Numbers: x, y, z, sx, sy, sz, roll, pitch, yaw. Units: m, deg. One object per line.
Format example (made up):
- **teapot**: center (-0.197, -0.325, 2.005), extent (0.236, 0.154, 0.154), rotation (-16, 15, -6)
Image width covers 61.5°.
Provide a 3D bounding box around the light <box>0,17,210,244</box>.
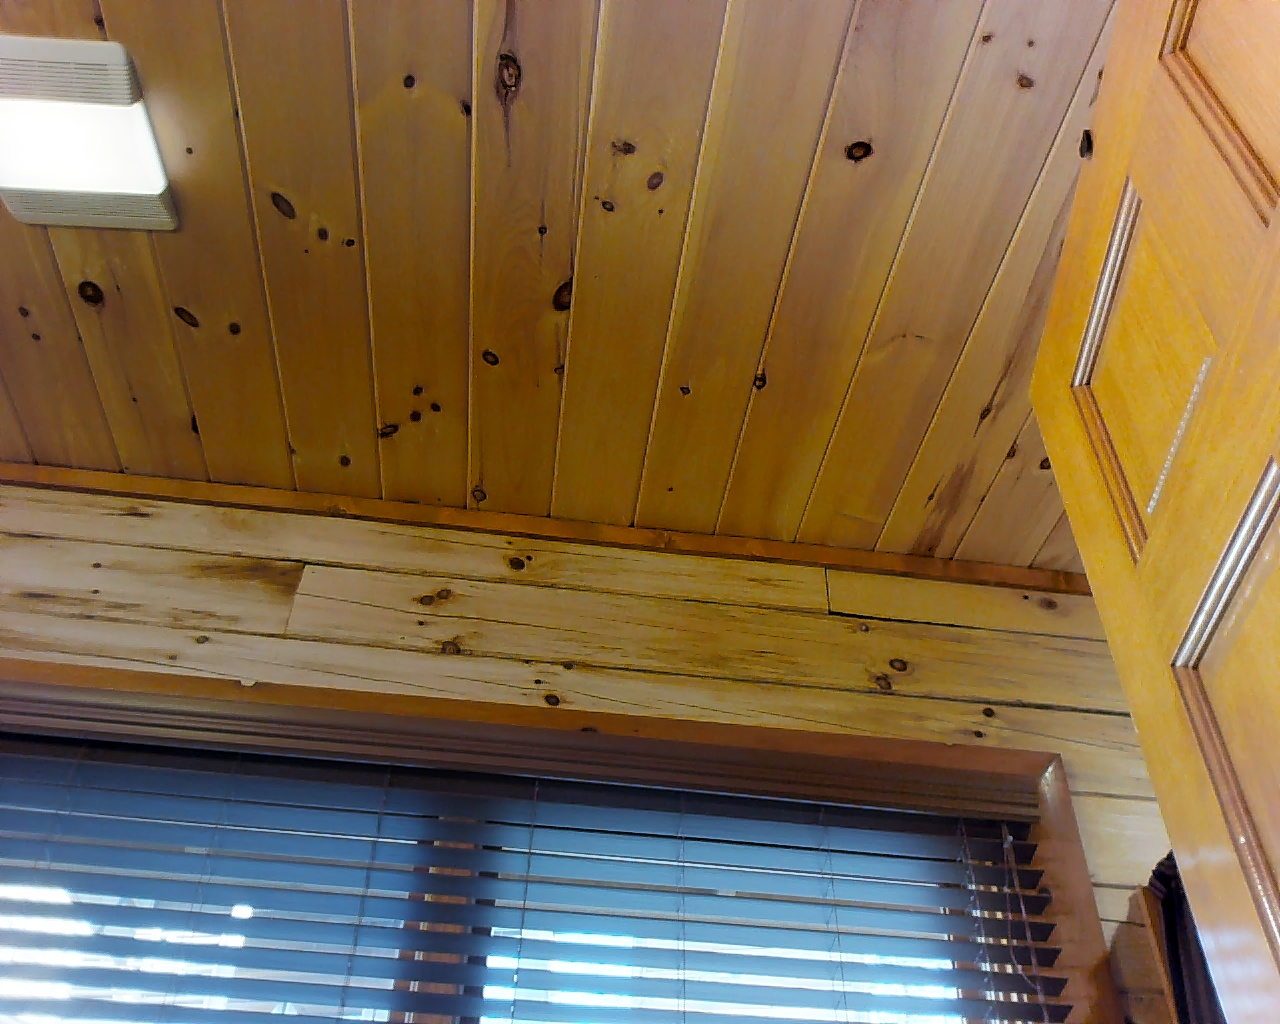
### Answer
- **light**: center (-0.880, -0.580, 1.650), extent (0.360, 0.040, 0.330), rotation (5, -41, -5)
